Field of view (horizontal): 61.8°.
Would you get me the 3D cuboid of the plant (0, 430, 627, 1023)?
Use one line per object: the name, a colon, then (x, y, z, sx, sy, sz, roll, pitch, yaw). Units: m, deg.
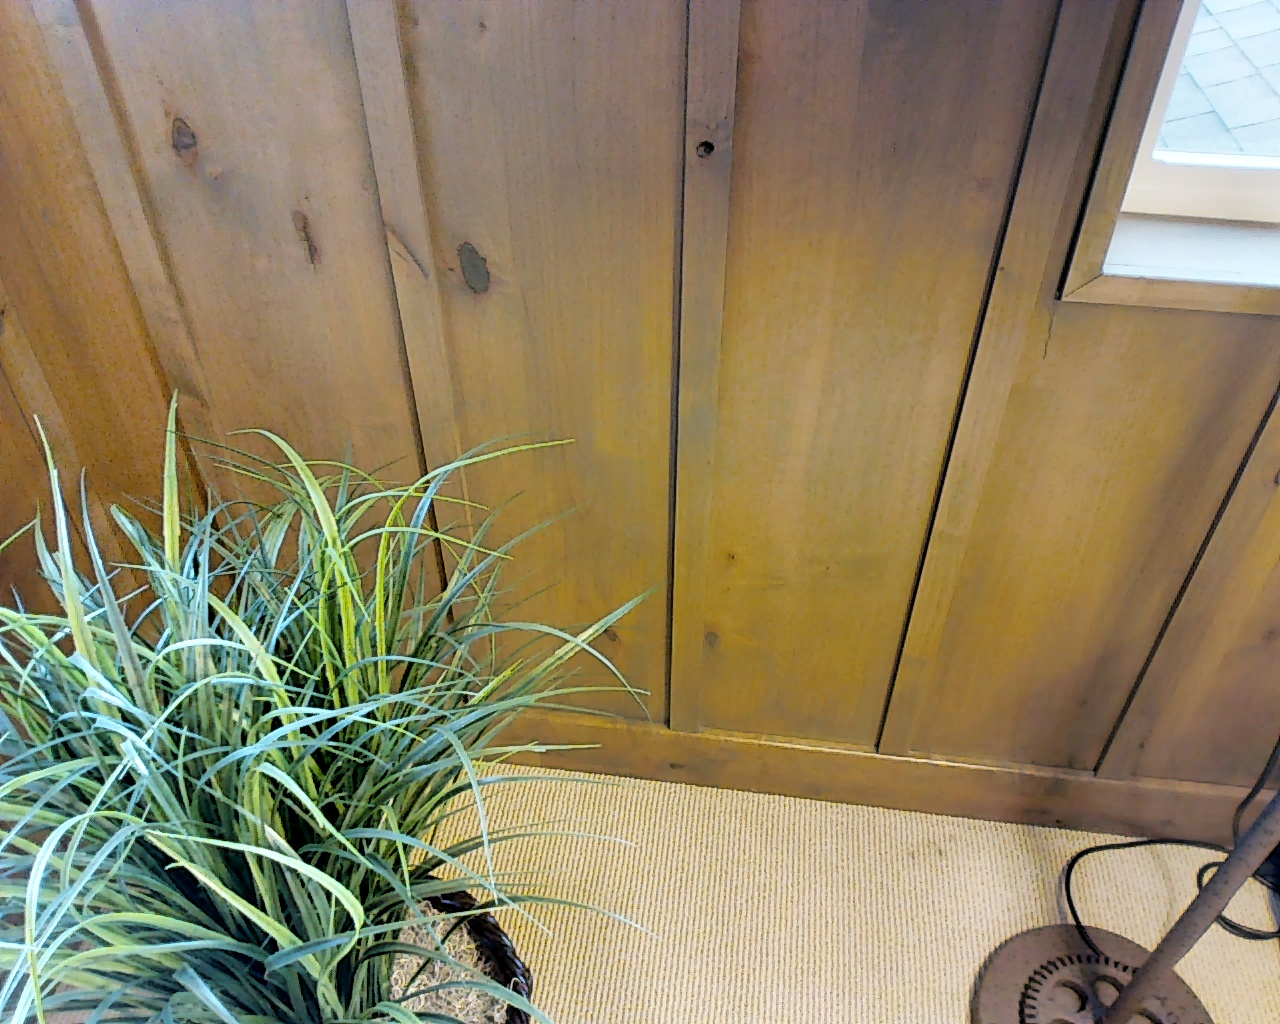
plant: (-0.270, 0.410, 0.970, 0.460, 0.880, 0.390, 5, 43, 5)
